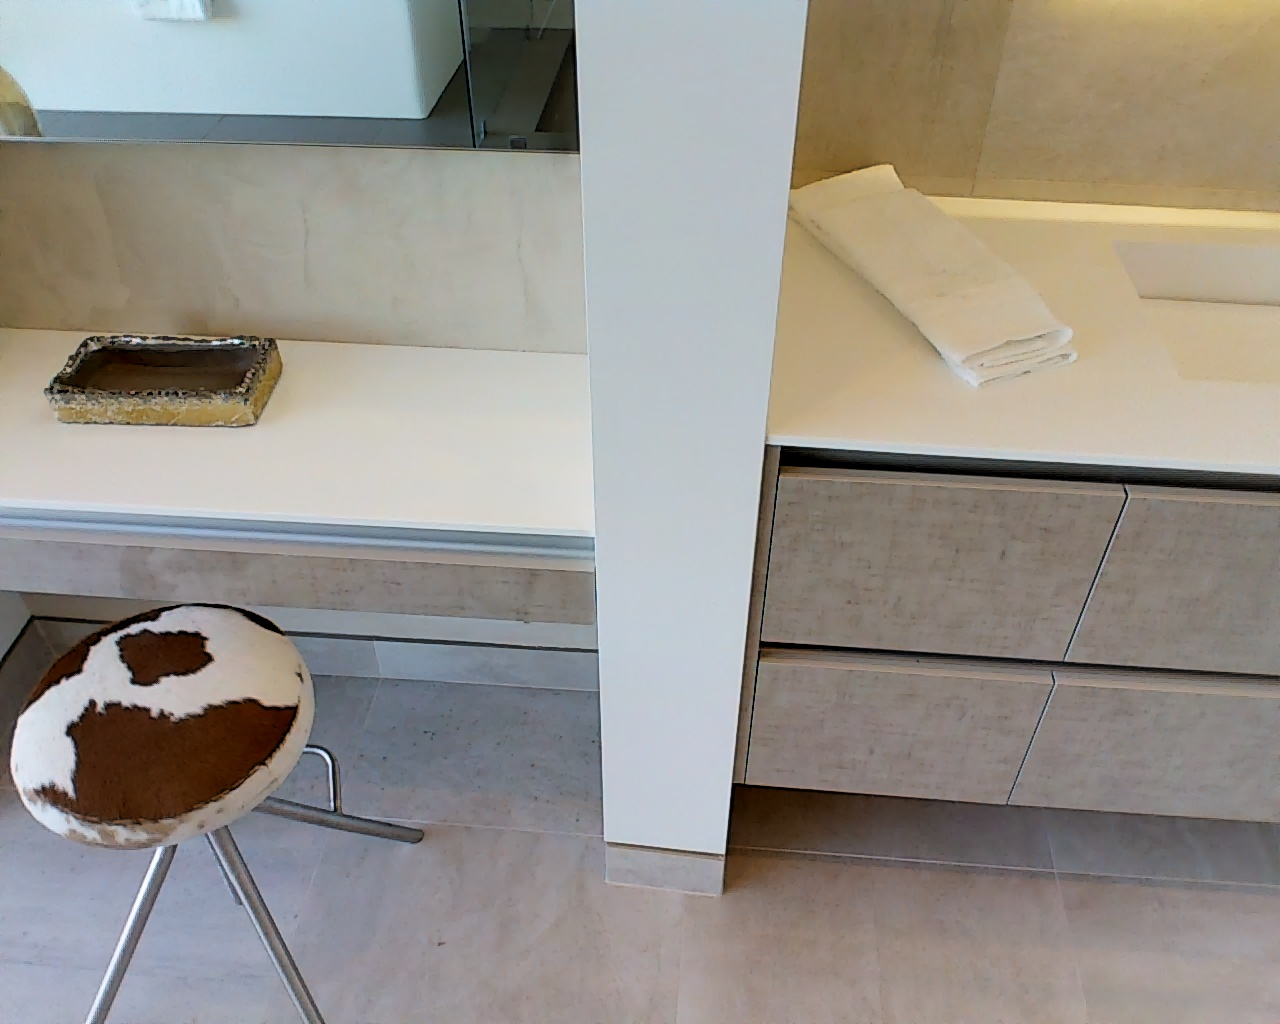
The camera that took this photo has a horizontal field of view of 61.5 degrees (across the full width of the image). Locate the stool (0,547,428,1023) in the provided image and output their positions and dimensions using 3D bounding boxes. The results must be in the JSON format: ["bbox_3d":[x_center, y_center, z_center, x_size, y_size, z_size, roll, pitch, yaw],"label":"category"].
[{"bbox_3d":[-0.560,0.400,1.470,0.380,0.580,0.380,3,42,4],"label":"stool"}]
